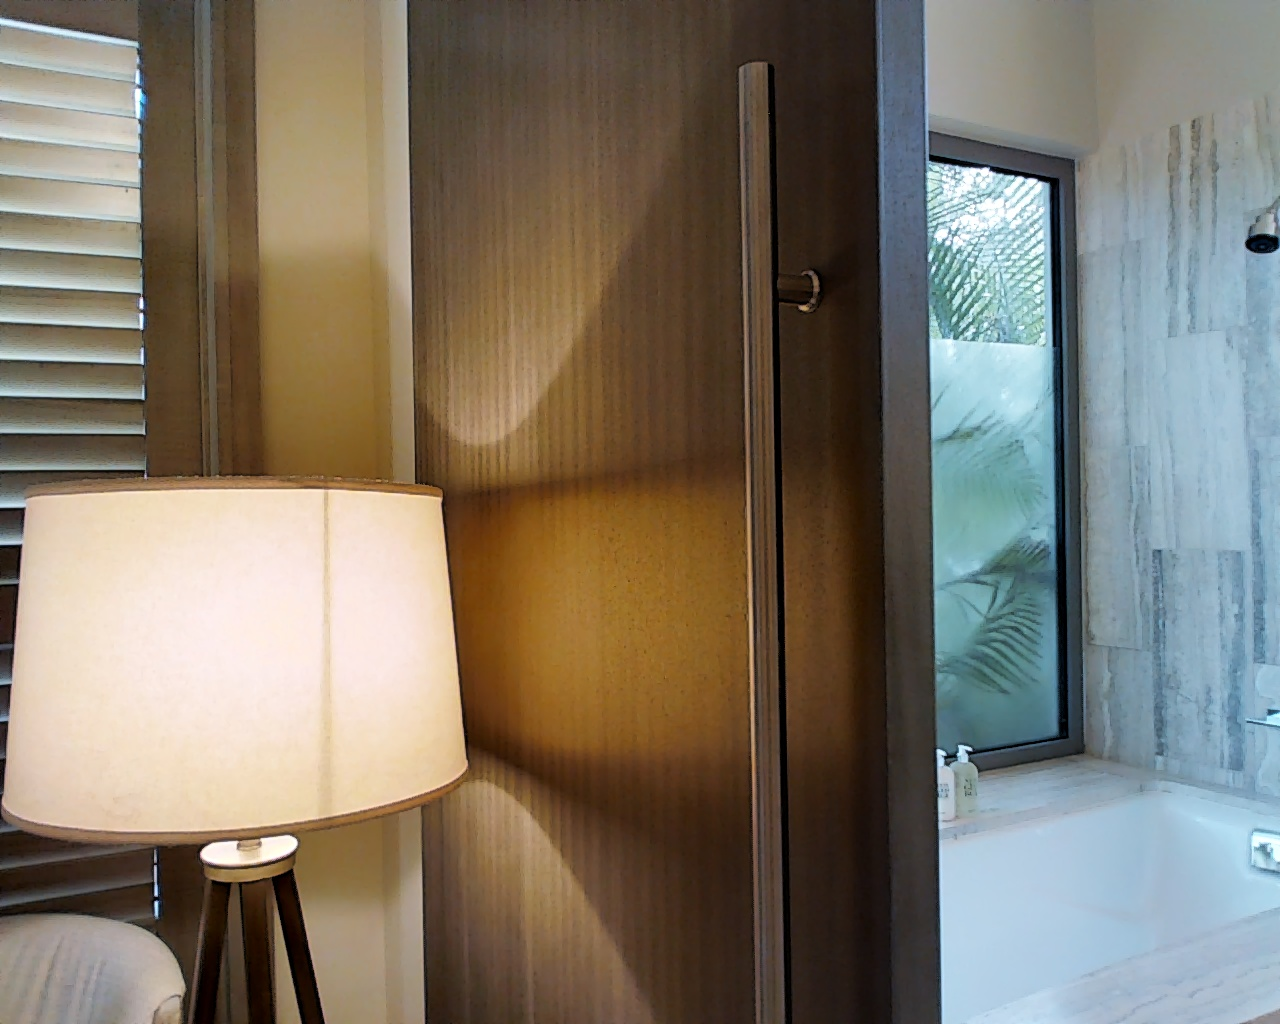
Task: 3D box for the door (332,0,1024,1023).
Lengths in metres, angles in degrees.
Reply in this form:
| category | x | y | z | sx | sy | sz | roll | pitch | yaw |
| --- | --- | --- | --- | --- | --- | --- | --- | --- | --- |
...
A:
| category | x | y | z | sx | sy | sz | roll | pitch | yaw |
| --- | --- | --- | --- | --- | --- | --- | --- | --- | --- |
| door | -0.140 | 0.030 | 1.320 | 0.100 | 2.630 | 1.450 | -2 | 1 | -28 |
